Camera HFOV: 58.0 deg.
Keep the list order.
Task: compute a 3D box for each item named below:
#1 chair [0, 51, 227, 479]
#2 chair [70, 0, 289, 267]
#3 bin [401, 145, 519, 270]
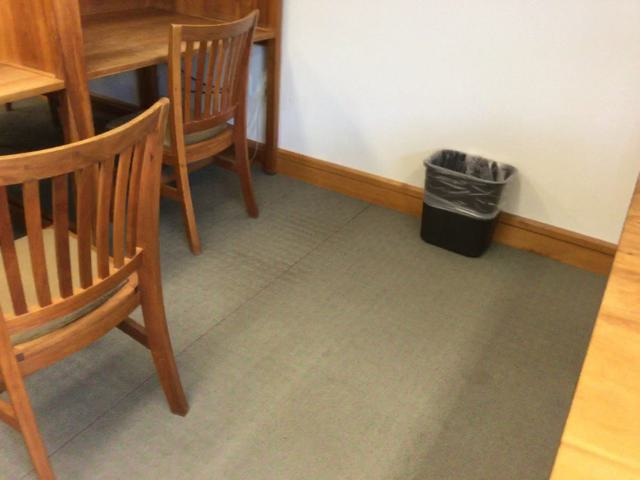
[{"bbox_3d":[-0.720,0.080,1.460,0.650,0.960,0.580,21,25,24],"label":"chair"},{"bbox_3d":[-0.610,-0.500,2.490,0.590,0.950,0.620,21,25,24],"label":"chair"},{"bbox_3d":[0.600,-0.150,2.500,0.350,0.410,0.250,21,25,24],"label":"bin"}]
